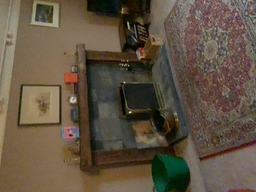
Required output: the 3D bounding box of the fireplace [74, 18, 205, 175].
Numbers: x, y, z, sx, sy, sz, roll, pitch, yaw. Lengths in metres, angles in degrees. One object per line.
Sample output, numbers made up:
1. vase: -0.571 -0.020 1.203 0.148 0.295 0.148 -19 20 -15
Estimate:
1. fireplace: -0.010 -0.020 2.780 0.770 1.280 1.760 119 146 -58
